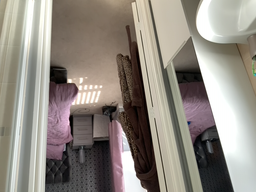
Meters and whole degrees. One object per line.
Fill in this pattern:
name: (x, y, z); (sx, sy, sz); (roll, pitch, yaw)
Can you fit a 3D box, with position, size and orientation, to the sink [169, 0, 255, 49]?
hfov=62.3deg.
sink: (0.510, -0.460, 0.910); (0.430, 0.170, 0.570); (1, 156, -17)
